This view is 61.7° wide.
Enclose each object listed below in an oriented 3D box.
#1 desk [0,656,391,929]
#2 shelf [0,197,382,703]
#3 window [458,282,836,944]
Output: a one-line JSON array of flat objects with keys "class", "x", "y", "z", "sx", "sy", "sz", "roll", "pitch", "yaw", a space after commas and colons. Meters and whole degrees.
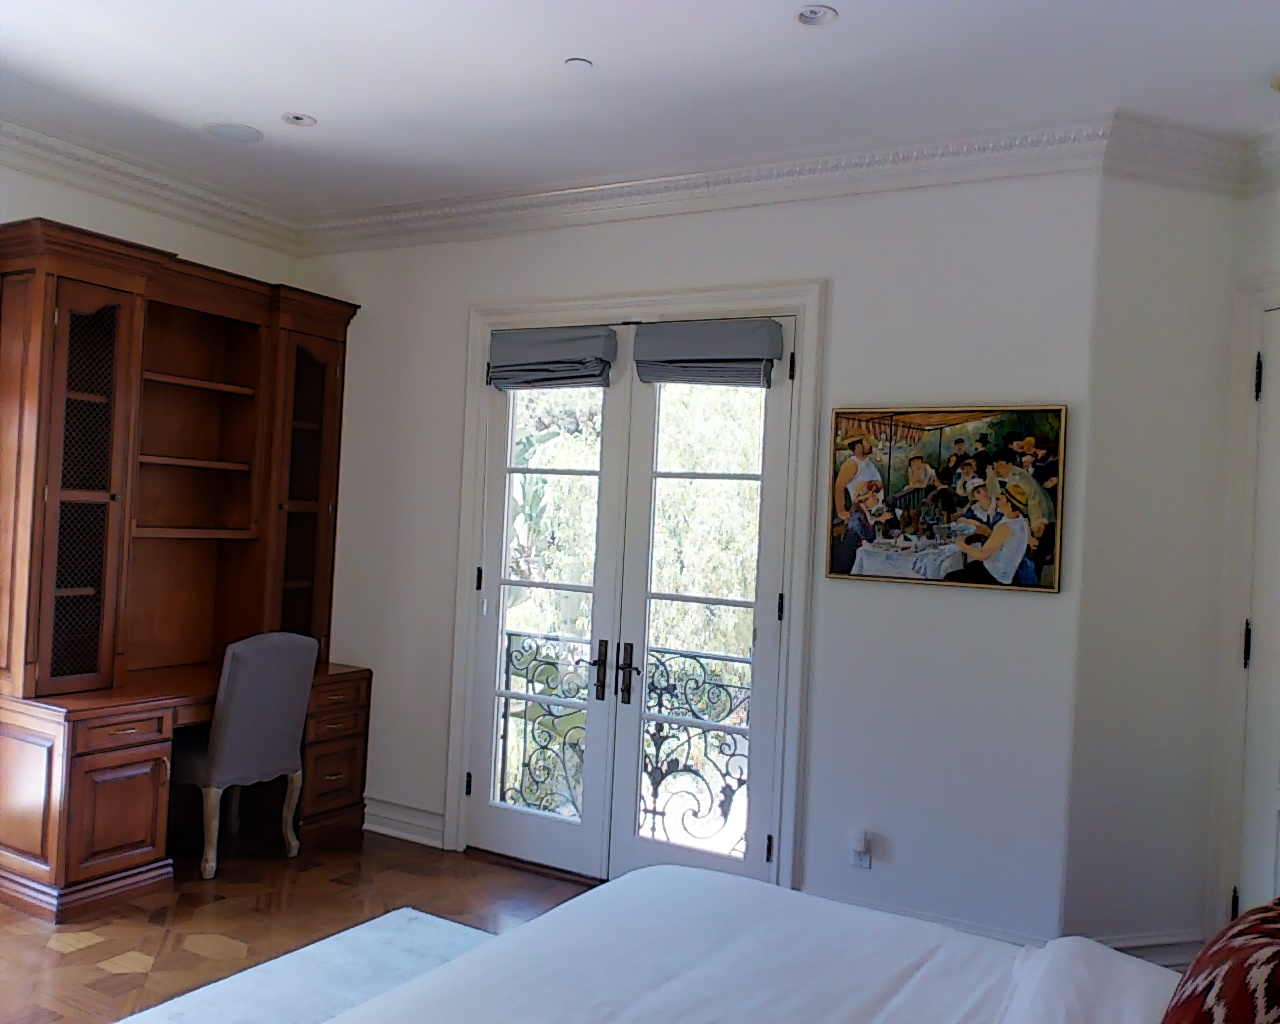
[{"class": "desk", "x": -1.939, "y": 1.120, "z": 4.710, "sx": 0.700, "sy": 0.760, "sz": 1.620, "roll": 3, "pitch": 0, "yaw": 30}, {"class": "shelf", "x": -1.949, "y": -0.220, "z": 4.780, "sx": 0.590, "sy": 1.860, "sz": 1.580, "roll": 3, "pitch": 0, "yaw": 26}, {"class": "window", "x": -0.020, "y": 0.350, "z": 4.520, "sx": 1.550, "sy": 2.491, "sz": 0.240, "roll": 3, "pitch": 0, "yaw": 30}]
